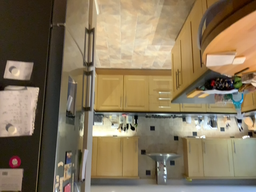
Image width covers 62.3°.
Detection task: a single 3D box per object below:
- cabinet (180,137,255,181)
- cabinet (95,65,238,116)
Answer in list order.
[{"bbox_3d":[1.870,1.240,4.260,1.550,0.810,0.300,1,169,-1],"label":"cabinet"},{"bbox_3d":[0.730,-0.080,4.350,2.690,0.900,0.590,1,169,-1],"label":"cabinet"}]
